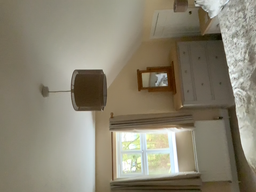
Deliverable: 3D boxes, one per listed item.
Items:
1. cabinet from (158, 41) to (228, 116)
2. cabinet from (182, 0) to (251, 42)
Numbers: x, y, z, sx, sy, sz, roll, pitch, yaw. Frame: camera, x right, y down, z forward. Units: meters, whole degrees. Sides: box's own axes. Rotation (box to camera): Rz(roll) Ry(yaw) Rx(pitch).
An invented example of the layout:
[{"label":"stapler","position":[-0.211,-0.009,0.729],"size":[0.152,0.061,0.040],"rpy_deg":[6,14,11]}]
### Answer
[{"label":"cabinet","position":[1.030,-0.290,3.560],"size":[0.440,0.900,1.120],"rpy_deg":[89,178,-75]},{"label":"cabinet","position":[1.130,-1.060,2.810],"size":[0.450,0.650,0.470],"rpy_deg":[88,178,-75]}]
